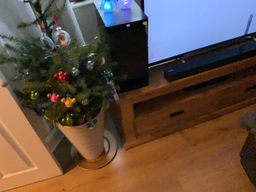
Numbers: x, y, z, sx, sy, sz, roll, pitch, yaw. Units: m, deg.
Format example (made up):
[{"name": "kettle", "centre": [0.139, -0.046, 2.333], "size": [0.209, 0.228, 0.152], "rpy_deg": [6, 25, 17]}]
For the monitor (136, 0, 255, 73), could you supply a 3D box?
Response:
[{"name": "monitor", "centre": [0.560, -0.540, 1.190], "size": [1.080, 0.620, 0.050], "rpy_deg": [-18, 45, -12]}]
